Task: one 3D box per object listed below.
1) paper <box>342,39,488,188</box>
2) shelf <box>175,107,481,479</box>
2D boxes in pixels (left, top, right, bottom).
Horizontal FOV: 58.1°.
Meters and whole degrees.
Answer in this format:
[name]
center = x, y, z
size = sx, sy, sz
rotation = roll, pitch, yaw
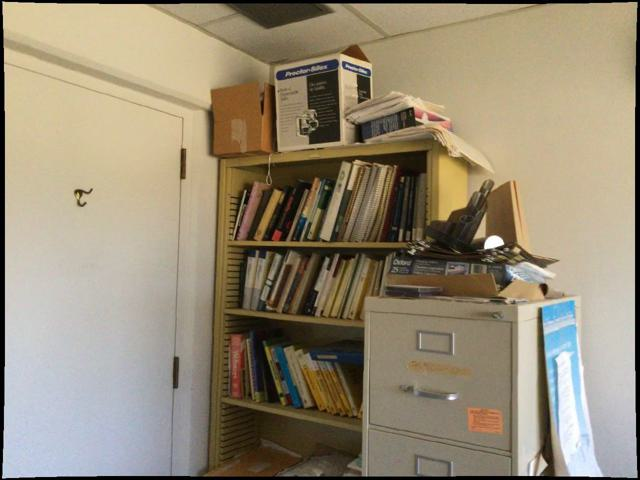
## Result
[paper]
center = 0.349, -0.421, 2.060
size = 0.399, 0.391, 0.380
rotation = -1, -4, 31
[shelf]
center = 0.010, 0.602, 2.150
size = 1.048, 1.975, 0.430
rotation = -1, -4, 31
